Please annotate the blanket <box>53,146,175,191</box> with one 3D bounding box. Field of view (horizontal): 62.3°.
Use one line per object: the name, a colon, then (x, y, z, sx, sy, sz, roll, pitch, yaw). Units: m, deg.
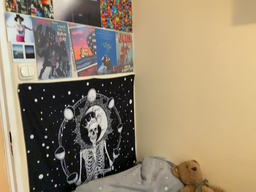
blanket: (-0.080, 0.620, 1.220, 0.410, 0.300, 0.910, 4, 10, 31)
